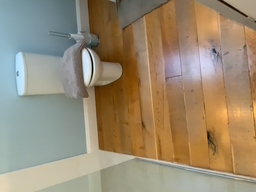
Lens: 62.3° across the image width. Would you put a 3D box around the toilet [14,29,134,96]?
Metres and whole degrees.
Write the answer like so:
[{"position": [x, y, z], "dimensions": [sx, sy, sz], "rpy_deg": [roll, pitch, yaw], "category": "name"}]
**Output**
[{"position": [-0.470, -0.230, 1.880], "dimensions": [0.650, 0.800, 0.390], "rpy_deg": [-5, 88, 47], "category": "toilet"}]
